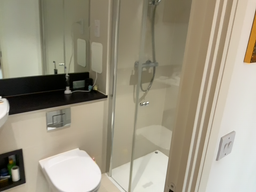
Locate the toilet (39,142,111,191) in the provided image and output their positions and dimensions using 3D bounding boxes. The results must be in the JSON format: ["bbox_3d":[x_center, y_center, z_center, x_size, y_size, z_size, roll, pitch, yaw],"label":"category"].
[{"bbox_3d":[-0.440,0.740,1.700,0.360,0.460,0.520,-10,24,-36],"label":"toilet"}]
